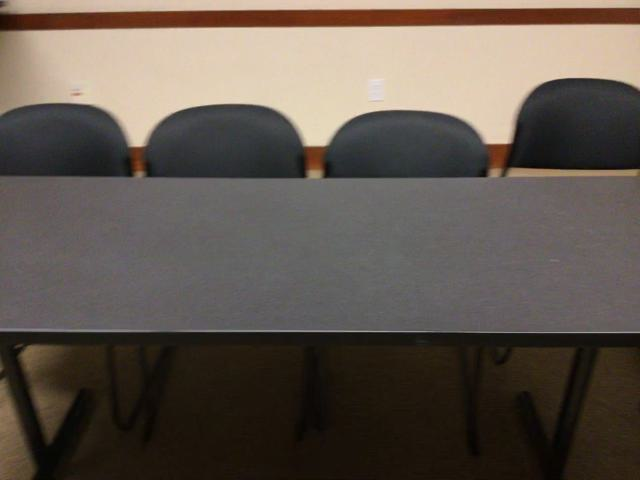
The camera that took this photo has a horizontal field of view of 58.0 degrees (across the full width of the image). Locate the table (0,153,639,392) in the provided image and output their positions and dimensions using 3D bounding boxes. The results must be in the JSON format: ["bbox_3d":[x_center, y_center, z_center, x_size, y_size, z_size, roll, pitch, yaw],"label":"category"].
[{"bbox_3d":[-0.040,0.000,1.170,1.890,0.110,0.740,-1,27,-3],"label":"table"}]
